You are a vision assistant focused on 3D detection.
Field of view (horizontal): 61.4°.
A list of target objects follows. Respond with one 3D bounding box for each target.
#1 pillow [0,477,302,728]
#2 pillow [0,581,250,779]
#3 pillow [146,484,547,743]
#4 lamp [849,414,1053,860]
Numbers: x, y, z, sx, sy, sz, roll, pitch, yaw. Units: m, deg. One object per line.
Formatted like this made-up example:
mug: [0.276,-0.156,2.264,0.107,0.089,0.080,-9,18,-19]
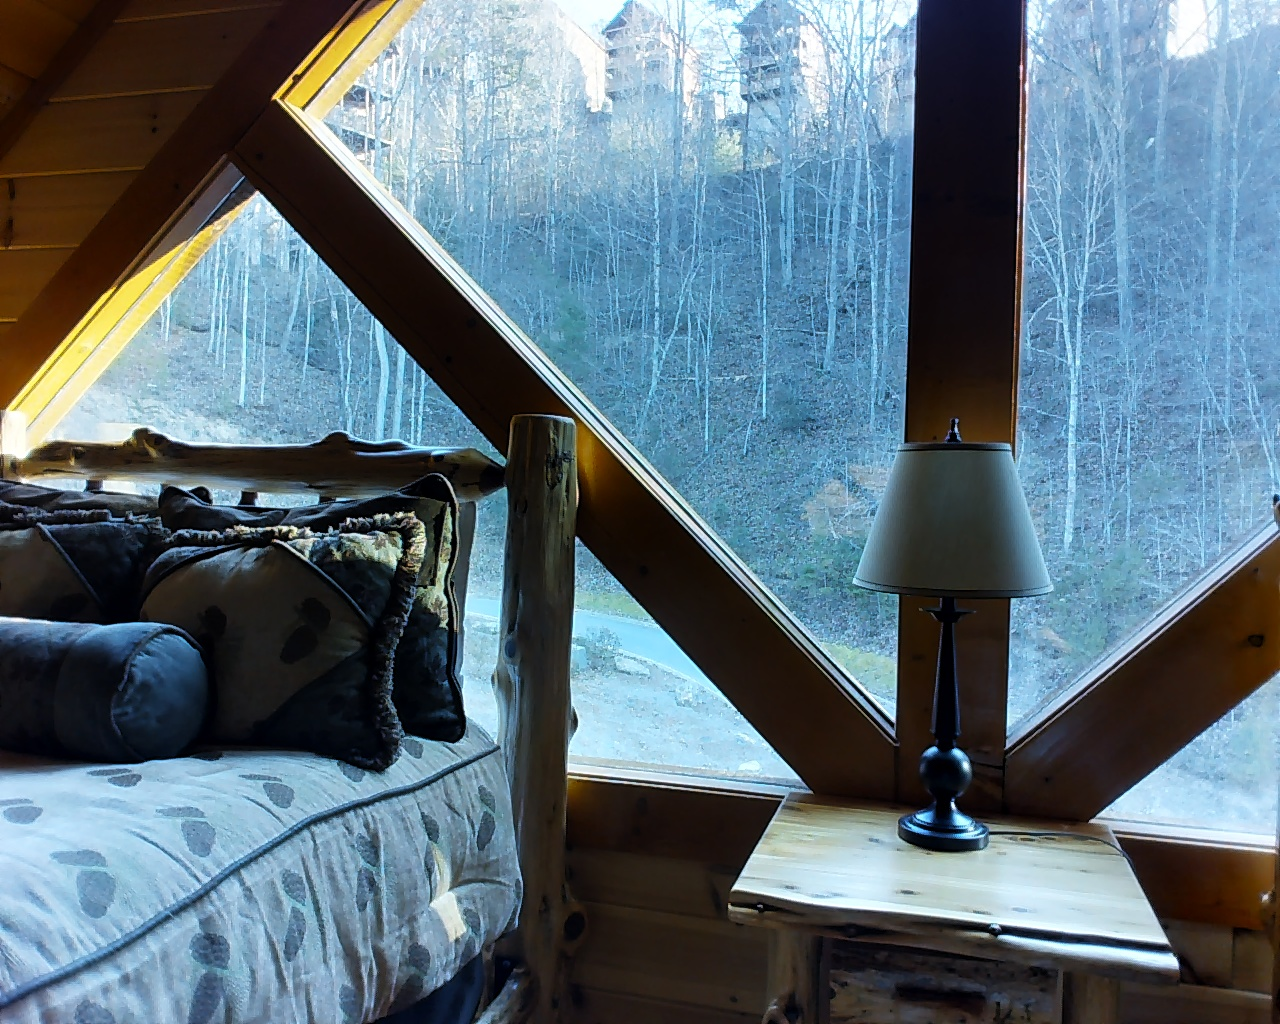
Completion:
pillow: [-1.120,0.140,2.100,0.760,0.410,0.430,2,1,17]
pillow: [-0.950,0.230,1.640,0.570,0.200,0.360,2,1,21]
pillow: [-0.500,0.150,1.920,0.520,0.380,0.450,2,1,18]
lamp: [0.530,0.190,1.850,0.290,0.690,0.300,2,1,16]
